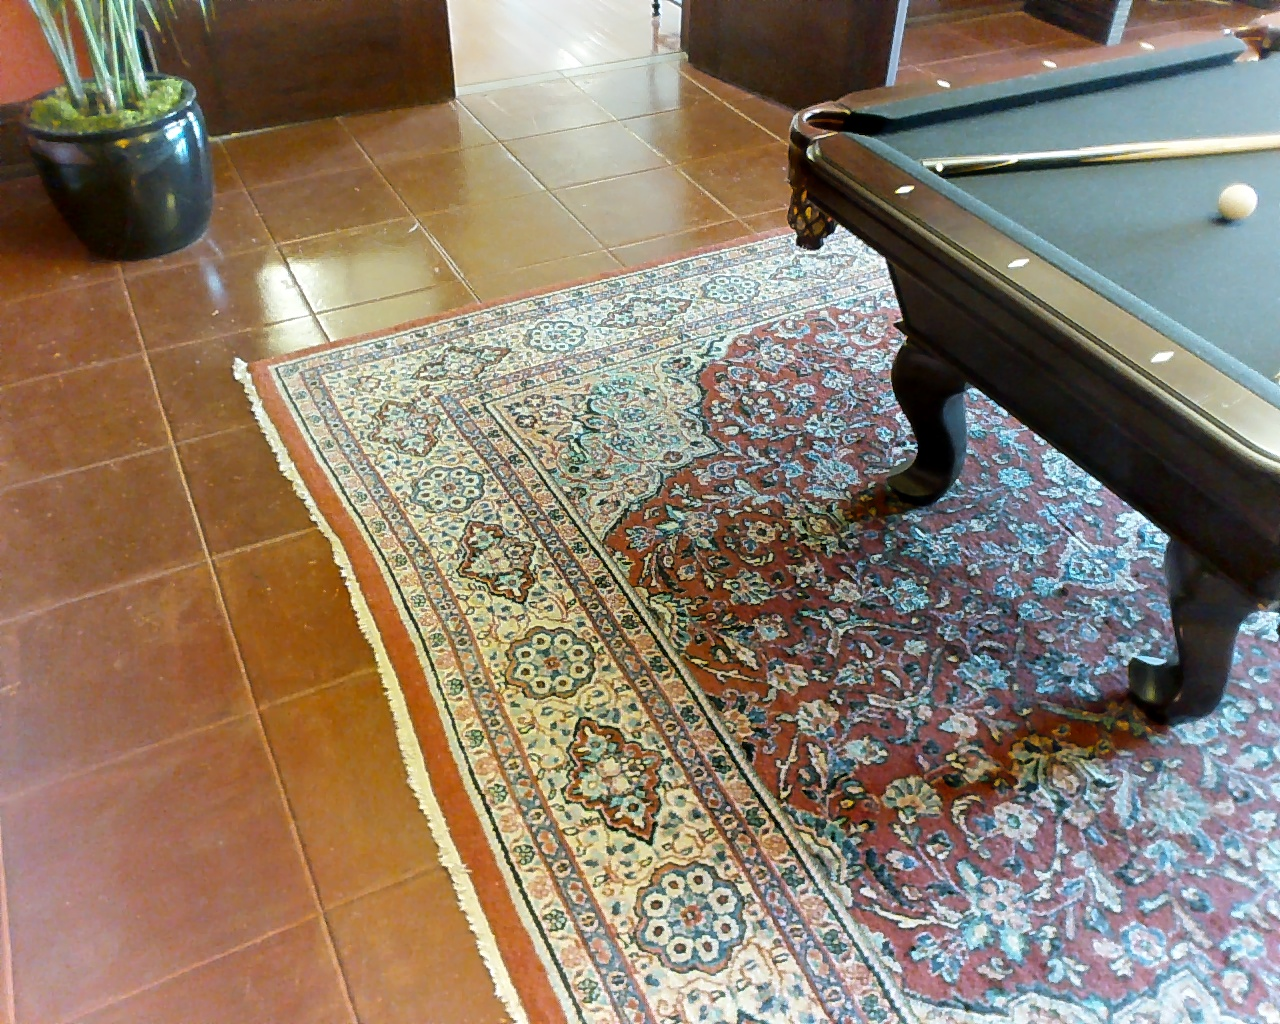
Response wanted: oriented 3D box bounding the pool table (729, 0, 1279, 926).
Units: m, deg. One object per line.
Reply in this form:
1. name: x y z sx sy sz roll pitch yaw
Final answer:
1. pool table: 1.660 -0.450 2.280 2.530 0.780 1.400 -18 45 -20
